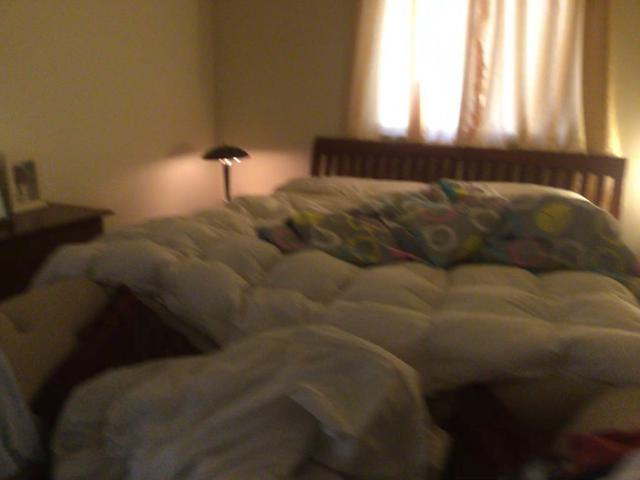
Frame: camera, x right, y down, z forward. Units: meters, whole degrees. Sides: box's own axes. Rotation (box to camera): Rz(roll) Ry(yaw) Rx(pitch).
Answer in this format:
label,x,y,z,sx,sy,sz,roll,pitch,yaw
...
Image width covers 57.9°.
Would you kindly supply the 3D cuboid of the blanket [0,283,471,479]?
label,x,y,z,sx,sy,sz,roll,pitch,yaw
blanket,-0.210,0.490,1.240,0.900,0.490,0.770,7,14,21
